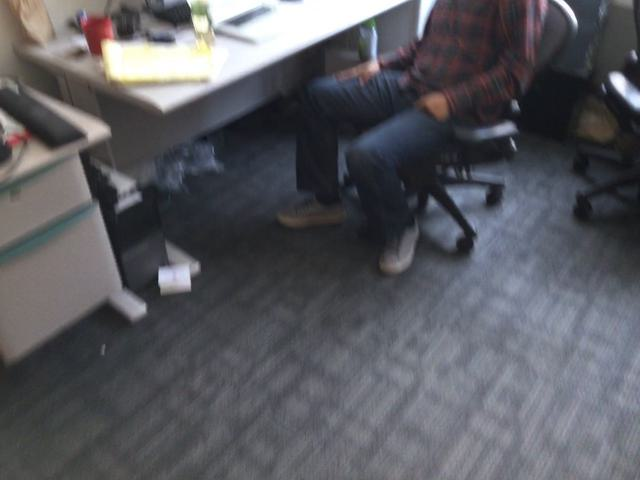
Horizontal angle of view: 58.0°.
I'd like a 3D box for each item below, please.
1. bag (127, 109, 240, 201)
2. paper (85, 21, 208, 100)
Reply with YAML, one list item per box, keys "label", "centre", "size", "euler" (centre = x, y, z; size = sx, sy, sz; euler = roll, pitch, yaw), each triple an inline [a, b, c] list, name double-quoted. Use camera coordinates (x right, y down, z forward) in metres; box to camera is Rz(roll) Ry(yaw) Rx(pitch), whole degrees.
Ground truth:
- label: "bag"
  centre: [-0.580, -0.380, 2.520]
  size: [0.200, 0.180, 0.440]
  euler: [24, 45, 28]
- label: "paper"
  centre: [-0.510, -0.560, 1.770]
  size: [0.320, 0.080, 0.380]
  euler: [-5, 39, -6]
